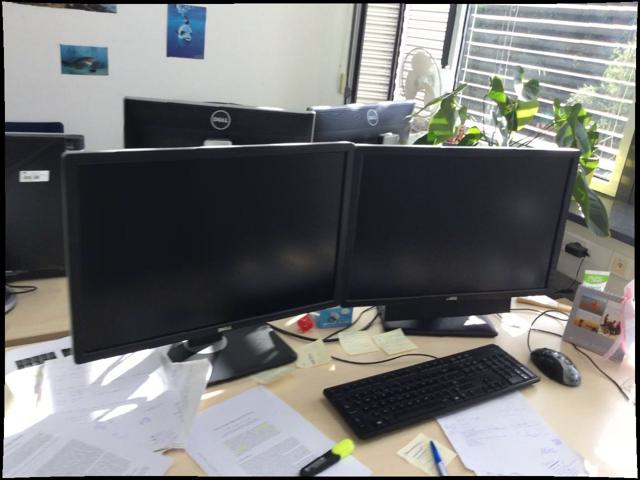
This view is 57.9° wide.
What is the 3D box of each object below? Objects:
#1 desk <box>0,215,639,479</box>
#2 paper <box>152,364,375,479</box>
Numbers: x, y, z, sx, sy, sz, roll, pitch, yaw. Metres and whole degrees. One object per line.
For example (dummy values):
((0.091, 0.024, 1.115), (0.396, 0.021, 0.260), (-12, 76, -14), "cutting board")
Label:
((0.010, 0.310, 1.130), (1.559, 0.250, 0.860), (-10, 25, -27), "desk")
((-0.100, 0.330, 0.980), (0.240, 0.020, 0.300), (-18, 30, -40), "paper")
